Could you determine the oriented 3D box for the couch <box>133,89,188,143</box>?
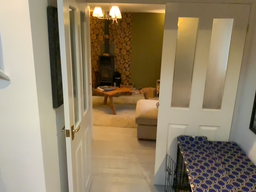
[{"bbox_3d":[0.540,0.310,3.800,0.810,0.610,0.910,4,16,5],"label":"couch"}]

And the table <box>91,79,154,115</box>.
[{"bbox_3d":[-0.130,-0.020,5.020,1.250,0.490,0.780,-9,20,-34],"label":"table"}]
